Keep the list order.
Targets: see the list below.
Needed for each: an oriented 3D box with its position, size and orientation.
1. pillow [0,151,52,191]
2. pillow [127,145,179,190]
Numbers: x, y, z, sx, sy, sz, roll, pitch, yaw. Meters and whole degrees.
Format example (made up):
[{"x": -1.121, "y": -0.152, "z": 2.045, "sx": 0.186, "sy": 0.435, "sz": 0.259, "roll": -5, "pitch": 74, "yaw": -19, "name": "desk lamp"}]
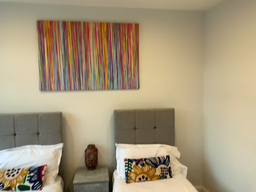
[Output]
[{"x": -1.100, "y": 0.860, "z": 2.210, "sx": 0.500, "sy": 0.270, "sz": 0.150, "roll": 43, "pitch": -2, "yaw": -8, "name": "pillow"}, {"x": 0.280, "y": 0.810, "z": 2.390, "sx": 0.520, "sy": 0.250, "sz": 0.130, "roll": 33, "pitch": 0, "yaw": -11, "name": "pillow"}]
